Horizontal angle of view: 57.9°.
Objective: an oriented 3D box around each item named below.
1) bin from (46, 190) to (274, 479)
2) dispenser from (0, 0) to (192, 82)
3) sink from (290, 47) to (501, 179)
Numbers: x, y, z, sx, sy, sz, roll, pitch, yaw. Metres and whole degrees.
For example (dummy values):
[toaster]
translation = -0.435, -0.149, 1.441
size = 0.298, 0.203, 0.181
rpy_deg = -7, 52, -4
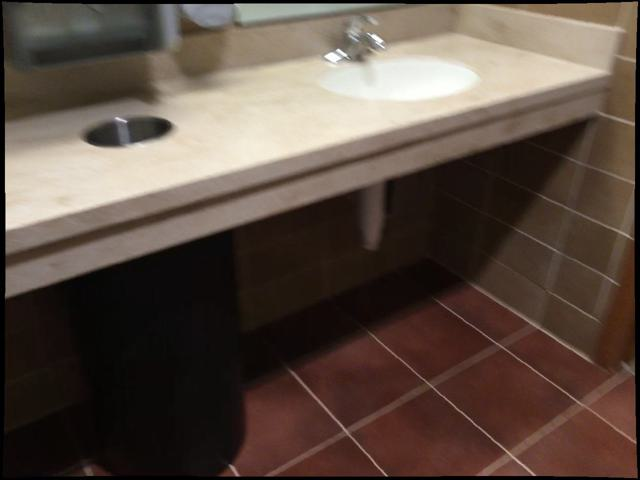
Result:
[bin]
translation = -0.320, 0.270, 1.290
size = 0.350, 0.670, 0.190
rpy_deg = -19, 36, -28
[dispenser]
translation = -0.430, -0.490, 1.040
size = 0.330, 0.330, 0.120
rpy_deg = -19, 36, -28
[sink]
translation = 0.190, -0.350, 1.510
size = 0.430, 0.180, 0.310
rpy_deg = -19, 36, -28
